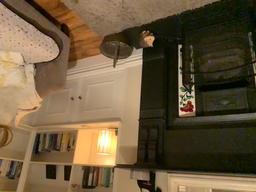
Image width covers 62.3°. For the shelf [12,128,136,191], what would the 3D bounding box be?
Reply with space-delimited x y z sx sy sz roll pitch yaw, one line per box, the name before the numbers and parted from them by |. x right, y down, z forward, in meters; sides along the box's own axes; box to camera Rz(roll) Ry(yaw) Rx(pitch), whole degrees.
shelf | -0.730 1.390 2.310 1.530 2.000 0.280 -7 156 28

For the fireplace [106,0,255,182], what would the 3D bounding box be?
fireplace | 0.750 -0.060 1.690 1.690 1.350 0.540 -7 156 29
